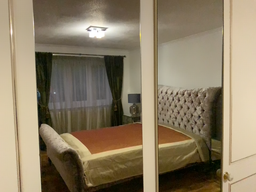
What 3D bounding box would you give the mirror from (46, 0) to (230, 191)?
[{"bbox_3d":[0.150,0.320,1.300,1.130,2.320,0.200,-3,4,-28],"label":"mirror"}]
